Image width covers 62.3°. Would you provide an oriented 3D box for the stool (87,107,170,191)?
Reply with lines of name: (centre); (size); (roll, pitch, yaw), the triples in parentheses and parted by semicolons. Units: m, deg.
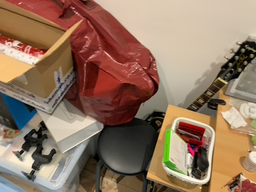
stool: (0.000, 0.380, 1.190); (0.310, 0.520, 0.300); (17, 49, 11)
